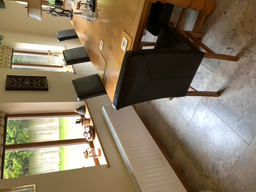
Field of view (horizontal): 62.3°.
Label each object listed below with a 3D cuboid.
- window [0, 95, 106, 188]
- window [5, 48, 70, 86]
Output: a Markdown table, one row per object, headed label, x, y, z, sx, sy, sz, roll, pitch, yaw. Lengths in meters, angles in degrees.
| label | x | y | z | sx | sy | sz | roll | pitch | yaw |
| --- | --- | --- | --- | --- | --- | --- | --- | --- | --- |
| window | -1.080 | 0.420 | 2.710 | 1.470 | 1.210 | 0.080 | 56 | 138 | 48 |
| window | -1.720 | -0.570 | 4.010 | 1.330 | 0.990 | 0.100 | 56 | 138 | 48 |
